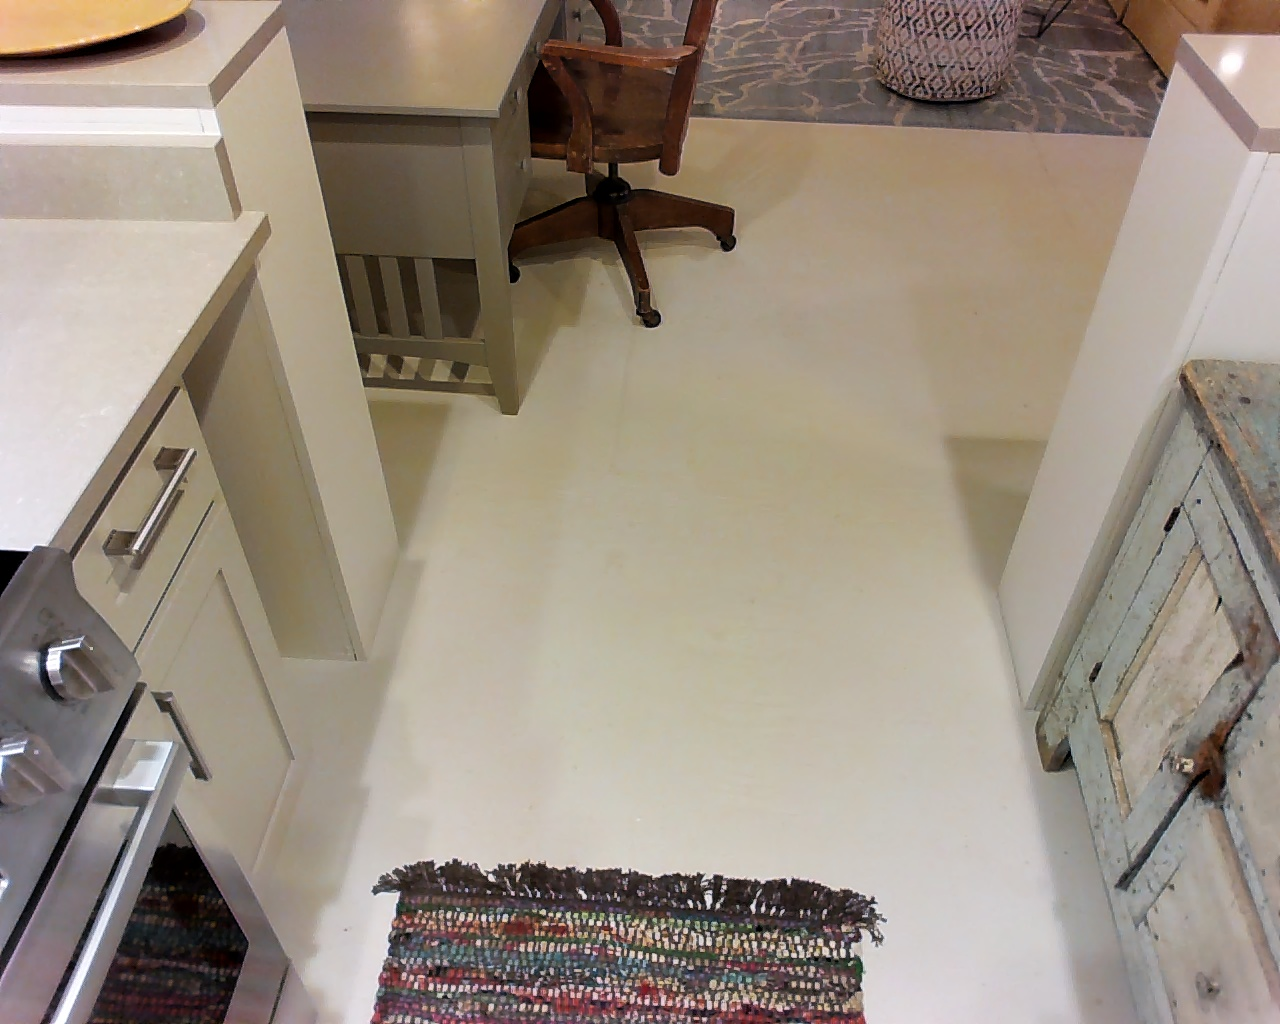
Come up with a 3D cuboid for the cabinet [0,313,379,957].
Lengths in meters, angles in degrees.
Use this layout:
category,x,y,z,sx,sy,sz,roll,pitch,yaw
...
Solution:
category,x,y,z,sx,sy,sz,roll,pitch,yaw
cabinet,-0.650,0.210,1.440,0.370,0.870,0.360,3,43,3
